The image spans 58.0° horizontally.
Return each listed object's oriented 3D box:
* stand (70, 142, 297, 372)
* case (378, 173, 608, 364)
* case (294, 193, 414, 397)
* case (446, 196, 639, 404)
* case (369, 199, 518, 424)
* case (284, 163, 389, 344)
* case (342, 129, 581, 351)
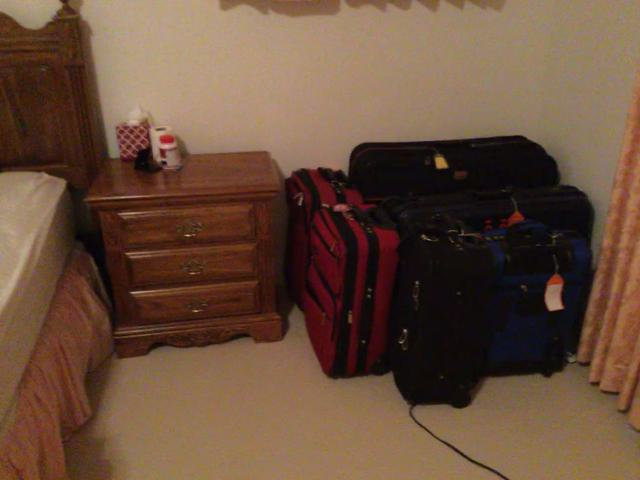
[{"bbox_3d":[-0.490,0.040,2.250,0.700,0.700,0.450,-6,23,-10],"label":"stand"},{"bbox_3d":[0.620,0.090,2.200,0.730,0.560,0.330,-6,23,-10],"label":"case"},{"bbox_3d":[0.110,0.180,2.070,0.320,0.580,0.390,-6,23,-10],"label":"case"},{"bbox_3d":[0.740,0.190,1.970,0.500,0.570,0.310,-6,23,-10],"label":"case"},{"bbox_3d":[0.380,0.220,1.930,0.330,0.590,0.400,-6,23,-10],"label":"case"},{"bbox_3d":[0.060,0.040,2.380,0.330,0.600,0.410,-6,23,-10],"label":"case"},{"bbox_3d":[0.540,-0.020,2.420,0.820,0.760,0.430,-5,22,-6],"label":"case"}]
